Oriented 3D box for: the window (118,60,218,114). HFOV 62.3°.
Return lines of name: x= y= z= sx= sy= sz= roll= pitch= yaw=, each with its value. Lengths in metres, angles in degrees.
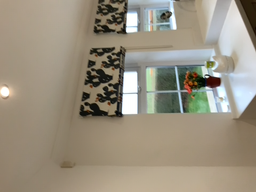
window: x=0.450 y=-0.120 z=2.600 sx=0.130 sy=1.110 sz=0.690 roll=82 pitch=-172 yaw=-58
